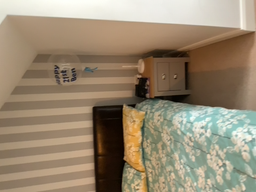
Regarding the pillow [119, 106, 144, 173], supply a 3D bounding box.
[{"bbox_3d":[0.030,0.450,2.330,0.440,0.140,0.620,-168,76,-73],"label":"pillow"}]
